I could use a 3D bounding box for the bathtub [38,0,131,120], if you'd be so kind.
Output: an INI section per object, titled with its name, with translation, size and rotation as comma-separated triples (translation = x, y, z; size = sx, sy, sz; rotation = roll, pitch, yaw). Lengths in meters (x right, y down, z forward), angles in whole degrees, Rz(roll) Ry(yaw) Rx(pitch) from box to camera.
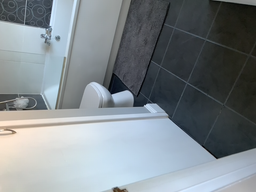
[bathtub]
translation = -0.590, -0.620, 2.540
size = 0.740, 0.590, 1.630
rotation = 44, 124, 45
